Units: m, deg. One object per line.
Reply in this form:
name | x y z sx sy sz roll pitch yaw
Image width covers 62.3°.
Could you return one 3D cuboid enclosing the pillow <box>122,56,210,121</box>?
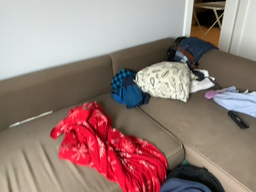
pillow | 0.280 -0.090 1.640 0.470 0.220 0.440 -22 36 -29
